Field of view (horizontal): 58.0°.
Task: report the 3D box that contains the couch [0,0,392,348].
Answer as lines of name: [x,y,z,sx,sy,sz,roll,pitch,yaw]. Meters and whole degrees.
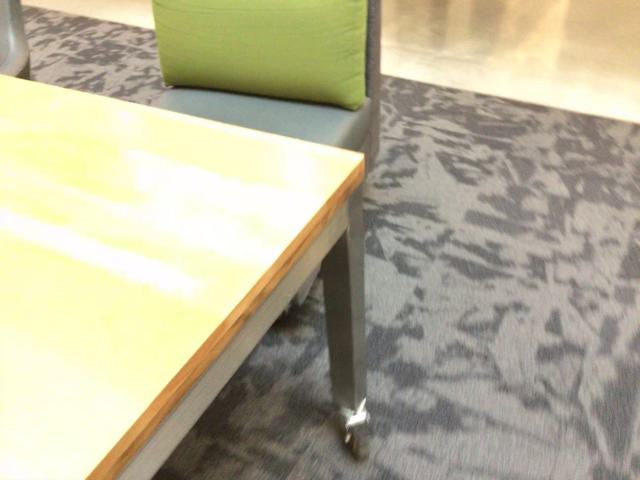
couch: [-0.260,-0.330,1.710,0.760,0.810,0.830,8,41,17]
